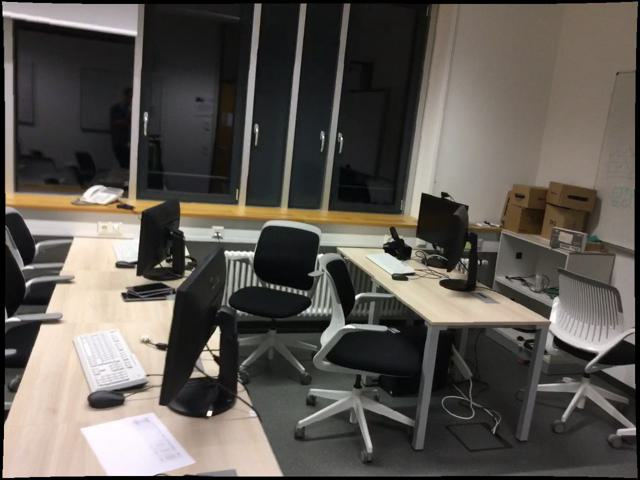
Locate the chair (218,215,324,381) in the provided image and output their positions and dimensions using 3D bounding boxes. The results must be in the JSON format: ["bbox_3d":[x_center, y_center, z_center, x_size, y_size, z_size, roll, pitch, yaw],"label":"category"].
[{"bbox_3d":[-0.300,0.340,3.700,0.549,0.871,0.580,4,13,7],"label":"chair"}]

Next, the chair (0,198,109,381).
[{"bbox_3d":[-1.608,0.260,3.520,0.530,0.931,0.660,-1,13,-16],"label":"chair"}]

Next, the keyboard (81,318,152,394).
[{"bbox_3d":[-0.749,0.400,2.090,0.190,0.030,0.560,-3,14,-24],"label":"keyboard"}]

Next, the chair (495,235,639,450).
[{"bbox_3d":[1.558,0.531,3.400,0.660,0.931,0.750,14,17,40],"label":"chair"}]

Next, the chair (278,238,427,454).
[{"bbox_3d":[0.160,0.531,3.060,0.669,0.951,0.520,3,13,4],"label":"chair"}]

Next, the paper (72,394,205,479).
[{"bbox_3d":[-0.509,0.541,1.600,0.250,0.020,0.350,-7,16,-35],"label":"paper"}]
